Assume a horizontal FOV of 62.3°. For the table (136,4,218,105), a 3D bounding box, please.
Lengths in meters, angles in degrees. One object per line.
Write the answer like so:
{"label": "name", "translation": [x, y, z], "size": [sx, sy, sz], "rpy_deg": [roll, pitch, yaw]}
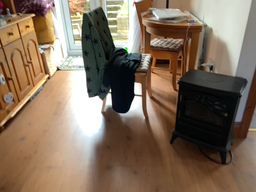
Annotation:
{"label": "table", "translation": [0.430, -0.530, 2.370], "size": [0.650, 0.790, 1.110], "rpy_deg": [1, 29, 4]}

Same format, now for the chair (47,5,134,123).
{"label": "chair", "translation": [-0.250, -0.280, 1.860], "size": [0.560, 0.910, 0.470], "rpy_deg": [1, 29, 5]}
